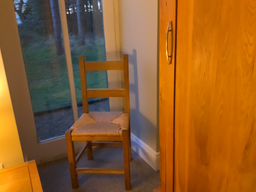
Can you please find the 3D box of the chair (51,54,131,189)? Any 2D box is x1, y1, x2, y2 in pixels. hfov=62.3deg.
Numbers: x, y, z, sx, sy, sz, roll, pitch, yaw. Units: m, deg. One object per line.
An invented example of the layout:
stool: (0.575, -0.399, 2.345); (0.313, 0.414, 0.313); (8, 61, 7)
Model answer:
chair: (-0.220, 0.170, 1.700); (0.460, 0.930, 0.540); (0, 18, 3)
